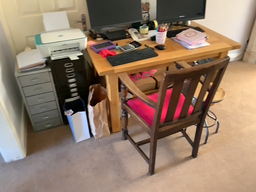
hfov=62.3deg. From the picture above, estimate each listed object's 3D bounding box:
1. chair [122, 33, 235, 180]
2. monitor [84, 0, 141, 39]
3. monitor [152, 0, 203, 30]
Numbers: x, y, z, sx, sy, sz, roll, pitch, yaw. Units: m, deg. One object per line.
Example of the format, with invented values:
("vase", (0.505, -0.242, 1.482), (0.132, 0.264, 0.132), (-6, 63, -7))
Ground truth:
("chair", (0.310, 0.080, 1.680), (0.530, 0.930, 0.520), (-15, 39, -20))
("monitor", (-0.130, -0.800, 2.020), (0.540, 0.420, 0.030), (-15, 29, -20))
("monitor", (0.520, -0.950, 2.210), (0.580, 0.440, 0.030), (-12, 28, -15))
